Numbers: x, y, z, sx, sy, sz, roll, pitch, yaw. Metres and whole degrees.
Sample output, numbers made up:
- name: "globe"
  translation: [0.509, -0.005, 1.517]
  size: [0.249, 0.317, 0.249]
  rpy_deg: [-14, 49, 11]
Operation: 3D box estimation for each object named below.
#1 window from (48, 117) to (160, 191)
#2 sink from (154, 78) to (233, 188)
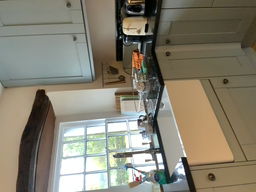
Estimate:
- name: "window"
  translation: [-0.250, 0.590, 2.220]
  size: [0.080, 1.020, 0.800]
  rpy_deg: [93, 172, -46]
- name: "sink"
  translation: [0.380, 0.240, 1.430]
  size: [0.430, 0.250, 0.580]
  rpy_deg: [95, 171, -50]
